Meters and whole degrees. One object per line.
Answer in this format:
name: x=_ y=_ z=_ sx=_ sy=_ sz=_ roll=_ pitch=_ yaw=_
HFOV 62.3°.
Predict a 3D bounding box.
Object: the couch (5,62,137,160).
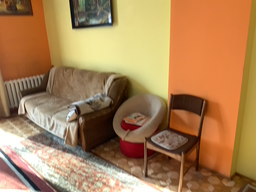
couch: x=-1.170 y=0.000 z=3.800 sx=1.010 sy=0.910 sz=2.690 roll=-18 pitch=23 yaw=-41
